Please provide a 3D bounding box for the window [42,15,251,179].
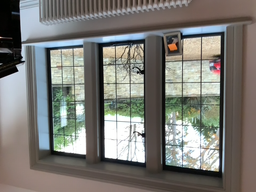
[{"bbox_3d":[0.030,0.000,2.510,2.430,1.580,0.120,1,-176,20],"label":"window"}]
